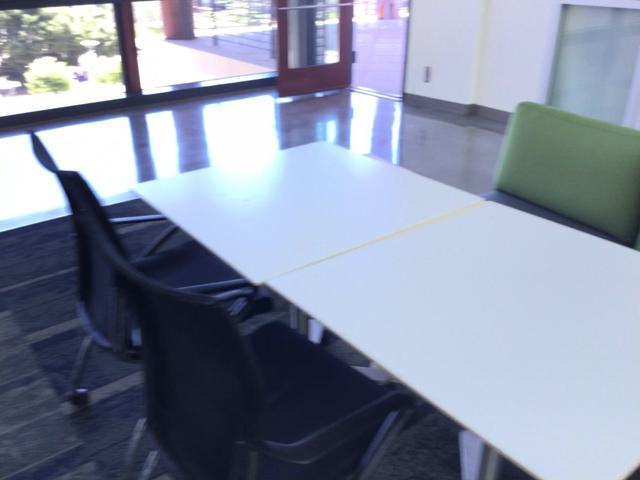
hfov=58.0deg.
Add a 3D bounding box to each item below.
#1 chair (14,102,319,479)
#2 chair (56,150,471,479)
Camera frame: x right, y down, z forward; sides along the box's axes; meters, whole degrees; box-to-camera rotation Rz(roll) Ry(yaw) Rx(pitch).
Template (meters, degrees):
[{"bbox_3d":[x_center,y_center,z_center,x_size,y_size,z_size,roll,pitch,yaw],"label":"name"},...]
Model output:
[{"bbox_3d":[-0.420,0.110,1.690,0.620,0.880,0.550,-15,27,-32],"label":"chair"},{"bbox_3d":[-0.080,0.370,1.240,0.540,0.930,0.510,-25,34,-37],"label":"chair"}]
